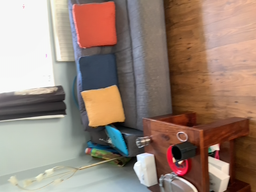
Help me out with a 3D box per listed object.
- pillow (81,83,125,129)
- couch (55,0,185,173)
[{"bbox_3d":[-0.250,0.090,2.200,0.100,0.370,0.410,-22,82,46],"label":"pillow"},{"bbox_3d":[-0.200,-0.830,2.260,1.090,0.830,2.790,0,96,60],"label":"couch"}]
